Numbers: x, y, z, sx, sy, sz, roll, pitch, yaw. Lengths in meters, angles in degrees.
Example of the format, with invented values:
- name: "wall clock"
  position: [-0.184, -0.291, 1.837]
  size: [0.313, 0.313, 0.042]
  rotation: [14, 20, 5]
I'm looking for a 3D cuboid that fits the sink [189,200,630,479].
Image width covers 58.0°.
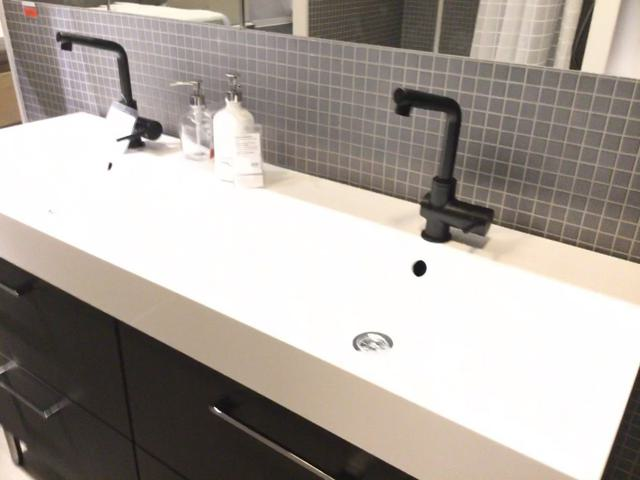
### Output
- name: "sink"
  position: [0.110, 0.110, 0.820]
  size: [0.520, 0.130, 0.300]
  rotation: [20, 31, 32]
